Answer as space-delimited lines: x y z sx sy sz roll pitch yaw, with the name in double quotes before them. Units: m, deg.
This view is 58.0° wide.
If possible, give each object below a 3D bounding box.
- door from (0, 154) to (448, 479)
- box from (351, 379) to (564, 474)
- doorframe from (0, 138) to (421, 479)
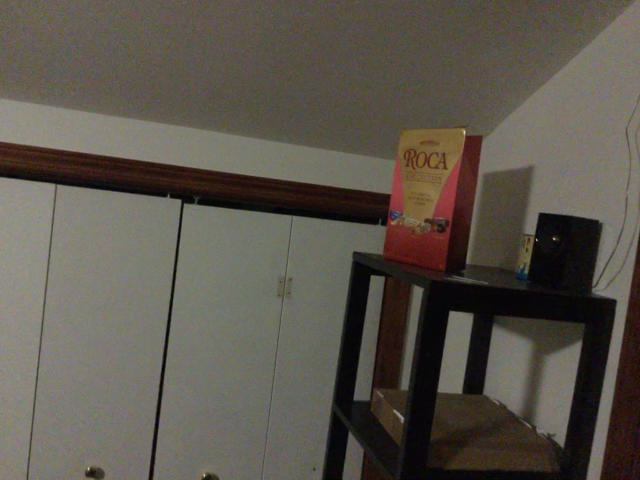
"door" -0.380 0.660 1.540 1.280 1.570 0.100 10 2 -19
"box" 0.270 0.380 1.200 0.320 0.070 0.290 10 2 -19
"doorframe" -0.450 0.740 1.500 1.200 1.820 0.090 10 2 -19
